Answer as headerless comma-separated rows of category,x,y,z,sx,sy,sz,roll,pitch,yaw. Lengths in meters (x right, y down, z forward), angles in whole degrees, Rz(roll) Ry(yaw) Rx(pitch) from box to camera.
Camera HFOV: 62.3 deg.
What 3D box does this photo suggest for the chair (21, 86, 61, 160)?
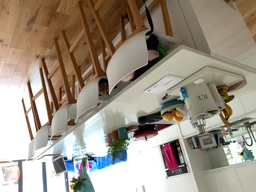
chair,-1.220,0.370,2.920,0.350,0.890,0.440,6,152,-39
